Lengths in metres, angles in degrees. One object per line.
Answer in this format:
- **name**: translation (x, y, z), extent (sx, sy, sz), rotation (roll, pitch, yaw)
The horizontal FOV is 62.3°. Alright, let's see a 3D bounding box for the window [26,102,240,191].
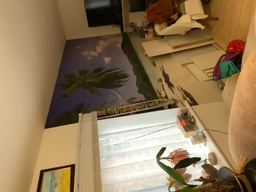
- **window**: translation (-0.010, 0.680, 1.710), extent (1.590, 1.530, 0.150), rotation (-106, 9, -55)
